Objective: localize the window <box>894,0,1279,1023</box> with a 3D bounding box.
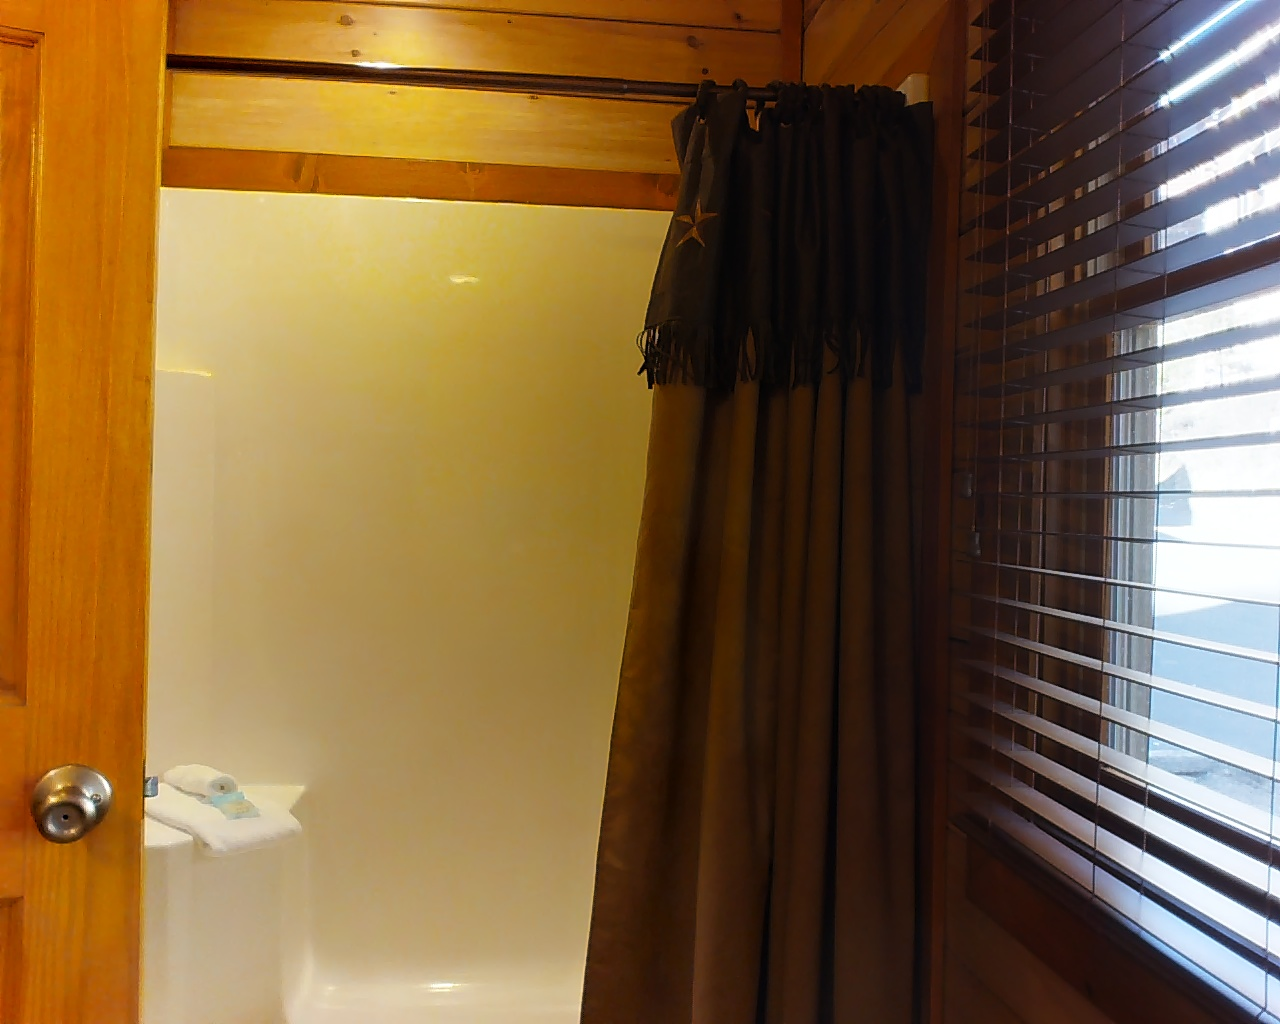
[{"bbox_3d":[0.590,-0.260,0.430,0.180,1.491,2.170,1,0,-7],"label":"window"}]
